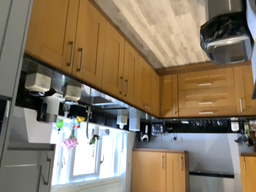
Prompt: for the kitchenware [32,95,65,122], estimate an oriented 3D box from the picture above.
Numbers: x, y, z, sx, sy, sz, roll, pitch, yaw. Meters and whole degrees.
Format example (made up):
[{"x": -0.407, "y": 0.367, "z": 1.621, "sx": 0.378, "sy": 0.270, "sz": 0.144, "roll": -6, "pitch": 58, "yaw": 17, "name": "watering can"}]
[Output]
[{"x": -0.730, "y": 0.120, "z": 1.960, "sx": 0.150, "sy": 0.200, "sz": 0.220, "roll": -5, "pitch": 164, "yaw": 27, "name": "kitchenware"}]
